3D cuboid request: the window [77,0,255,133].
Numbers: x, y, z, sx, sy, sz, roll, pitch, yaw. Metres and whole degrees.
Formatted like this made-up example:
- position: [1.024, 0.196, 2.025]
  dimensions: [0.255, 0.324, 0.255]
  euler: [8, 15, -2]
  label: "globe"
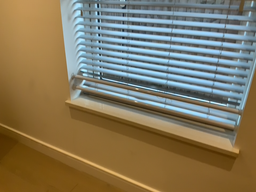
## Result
- position: [0.140, -0.570, 1.140]
  dimensions: [1.060, 1.440, 0.040]
  euler: [15, 29, 26]
  label: "window"
